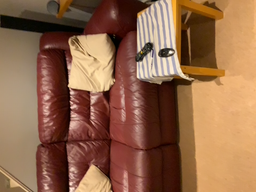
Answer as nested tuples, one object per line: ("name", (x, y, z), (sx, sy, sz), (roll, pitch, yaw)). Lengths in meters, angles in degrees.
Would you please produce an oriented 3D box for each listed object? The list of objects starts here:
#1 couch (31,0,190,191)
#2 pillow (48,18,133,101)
("couch", (-0.230, 0.390, 1.820), (1.060, 0.930, 2.160), (-10, 82, 57))
("pillow", (-0.310, -0.310, 1.830), (0.480, 0.500, 0.200), (53, 167, 2))
